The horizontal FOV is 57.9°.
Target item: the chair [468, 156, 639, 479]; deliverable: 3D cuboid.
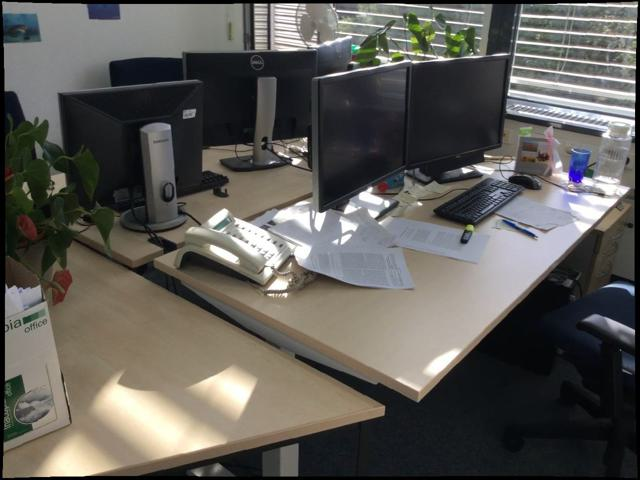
[{"bbox_3d":[0.929,0.330,1.650,0.690,0.891,0.640,19,32,35],"label":"chair"}]
